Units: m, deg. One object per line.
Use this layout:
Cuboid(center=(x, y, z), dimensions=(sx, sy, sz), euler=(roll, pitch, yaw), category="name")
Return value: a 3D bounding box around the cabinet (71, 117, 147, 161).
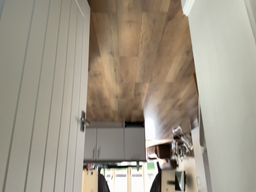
Cuboid(center=(-0.410, 1.010, 4.930), dimensions=(1.630, 0.890, 0.570), euler=(-1, 161, -1), category="cabinet")
